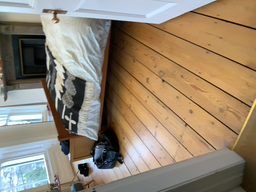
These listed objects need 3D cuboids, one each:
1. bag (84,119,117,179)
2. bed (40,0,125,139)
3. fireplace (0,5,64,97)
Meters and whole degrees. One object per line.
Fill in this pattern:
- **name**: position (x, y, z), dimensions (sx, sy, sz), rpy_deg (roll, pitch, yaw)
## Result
- **bag**: position (-0.360, 0.650, 2.650), dimensions (0.410, 0.220, 0.560), rpy_deg (47, 135, 49)
- **bed**: position (-0.710, -0.850, 2.680), dimensions (1.640, 0.540, 2.110), rpy_deg (47, 135, 49)
- **fireplace**: position (-2.060, -0.900, 4.440), dimensions (0.560, 1.240, 1.690), rpy_deg (48, 136, 48)
